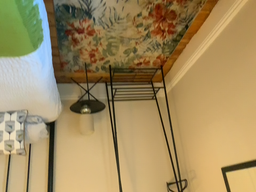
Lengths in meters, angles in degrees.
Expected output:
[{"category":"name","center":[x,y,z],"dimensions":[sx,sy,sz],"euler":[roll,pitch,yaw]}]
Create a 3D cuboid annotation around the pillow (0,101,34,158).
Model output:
[{"category":"pillow","center":[-1.110,0.310,1.850],"dimensions":[0.410,0.380,0.190],"euler":[-21,162,-24]}]
